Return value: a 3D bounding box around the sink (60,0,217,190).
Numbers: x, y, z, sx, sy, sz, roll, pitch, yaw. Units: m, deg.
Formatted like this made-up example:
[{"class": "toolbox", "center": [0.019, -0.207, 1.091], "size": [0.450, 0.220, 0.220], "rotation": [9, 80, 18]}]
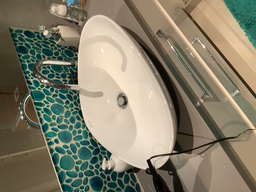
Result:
[{"class": "sink", "center": [-0.030, -0.030, 0.790], "size": [0.380, 0.130, 0.610], "rotation": [-46, 61, 38]}]
